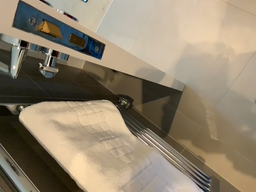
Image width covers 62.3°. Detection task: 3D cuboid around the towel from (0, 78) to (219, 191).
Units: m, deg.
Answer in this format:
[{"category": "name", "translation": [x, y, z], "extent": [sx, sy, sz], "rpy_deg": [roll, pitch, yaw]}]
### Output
[{"category": "towel", "translation": [0.020, 0.130, 0.550], "extent": [0.420, 0.480, 0.090], "rpy_deg": [37, 102, 20]}]
